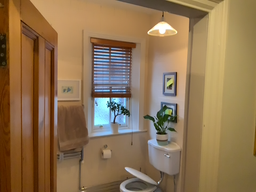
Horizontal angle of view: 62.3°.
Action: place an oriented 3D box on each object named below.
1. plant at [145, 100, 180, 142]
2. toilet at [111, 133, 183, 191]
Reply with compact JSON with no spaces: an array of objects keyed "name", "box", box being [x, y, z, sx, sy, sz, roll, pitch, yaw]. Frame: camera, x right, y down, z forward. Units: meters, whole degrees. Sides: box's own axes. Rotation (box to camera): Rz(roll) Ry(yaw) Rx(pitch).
[{"name":"plant","box":[0.450,0.310,2.830,0.220,0.480,0.440,-1,5,-29]},{"name":"toilet","box":[0.230,1.010,2.710,0.730,0.890,0.510,-1,5,-29]}]
